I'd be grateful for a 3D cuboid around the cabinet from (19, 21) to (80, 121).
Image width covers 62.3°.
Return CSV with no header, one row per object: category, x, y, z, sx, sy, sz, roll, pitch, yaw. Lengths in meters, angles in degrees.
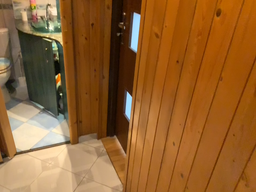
cabinet,-0.930,-0.350,2.520,0.500,0.850,0.930,-7,32,-21
